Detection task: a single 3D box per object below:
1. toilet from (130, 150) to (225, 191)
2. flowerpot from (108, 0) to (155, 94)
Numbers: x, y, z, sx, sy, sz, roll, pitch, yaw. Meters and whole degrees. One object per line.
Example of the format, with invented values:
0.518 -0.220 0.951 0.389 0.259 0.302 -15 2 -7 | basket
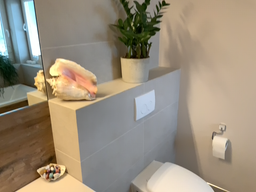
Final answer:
0.350 0.770 1.590 0.550 0.420 0.380 15 24 37 | toilet
0.030 -0.350 1.500 0.180 0.600 0.270 14 24 36 | flowerpot
